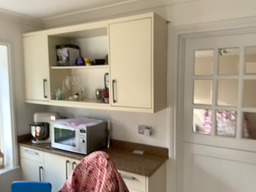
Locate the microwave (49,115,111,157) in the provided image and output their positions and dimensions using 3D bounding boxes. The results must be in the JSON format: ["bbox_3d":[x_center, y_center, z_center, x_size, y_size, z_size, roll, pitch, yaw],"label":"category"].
[{"bbox_3d":[-0.520,0.400,2.280,0.560,0.290,0.370,4,6,36],"label":"microwave"}]

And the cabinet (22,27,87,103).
[{"bbox_3d":[-0.870,-0.350,2.580,0.430,0.790,0.580,3,6,32],"label":"cabinet"}]

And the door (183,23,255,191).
[{"bbox_3d":[0.900,0.410,1.870,0.780,2.000,0.090,3,6,31],"label":"door"}]
